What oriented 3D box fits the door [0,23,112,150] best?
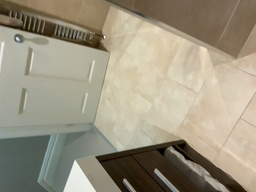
[{"bbox_3d":[-1.020,-0.060,1.500,0.170,1.990,0.930,24,105,43],"label":"door"}]
